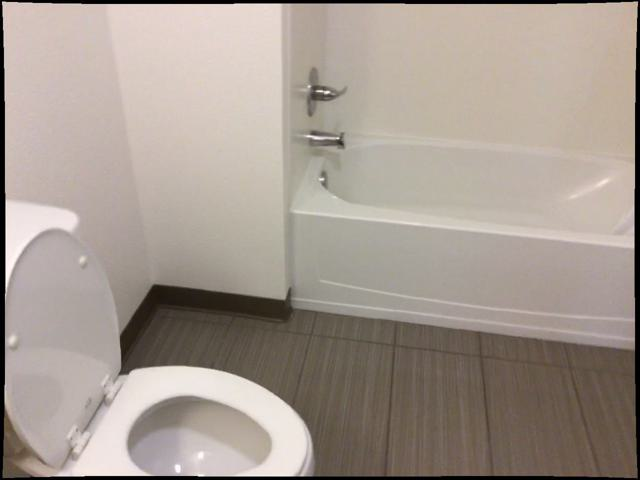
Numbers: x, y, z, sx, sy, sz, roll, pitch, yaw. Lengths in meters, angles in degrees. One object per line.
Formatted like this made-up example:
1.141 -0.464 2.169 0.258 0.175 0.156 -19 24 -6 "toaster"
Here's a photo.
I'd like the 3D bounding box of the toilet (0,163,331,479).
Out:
-0.380 0.360 1.230 0.739 0.871 0.490 4 36 4 "toilet"
